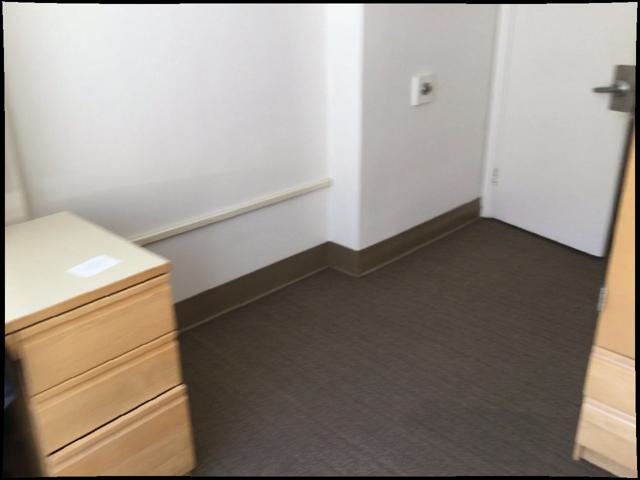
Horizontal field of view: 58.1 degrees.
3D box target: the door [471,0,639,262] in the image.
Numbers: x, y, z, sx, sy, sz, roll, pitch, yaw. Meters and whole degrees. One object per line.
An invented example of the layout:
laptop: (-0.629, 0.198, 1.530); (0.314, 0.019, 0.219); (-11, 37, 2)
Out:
door: (1.356, -0.912, 3.180); (0.240, 1.844, 0.960); (-16, 27, -30)
